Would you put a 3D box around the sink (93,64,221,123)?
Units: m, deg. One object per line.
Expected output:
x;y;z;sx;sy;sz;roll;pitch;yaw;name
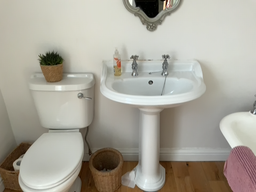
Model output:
0.150;-0.040;1.320;0.640;0.160;0.490;0;27;1;sink

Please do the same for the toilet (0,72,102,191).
-0.470;0.340;1.410;0.460;0.800;0.690;0;27;1;toilet
